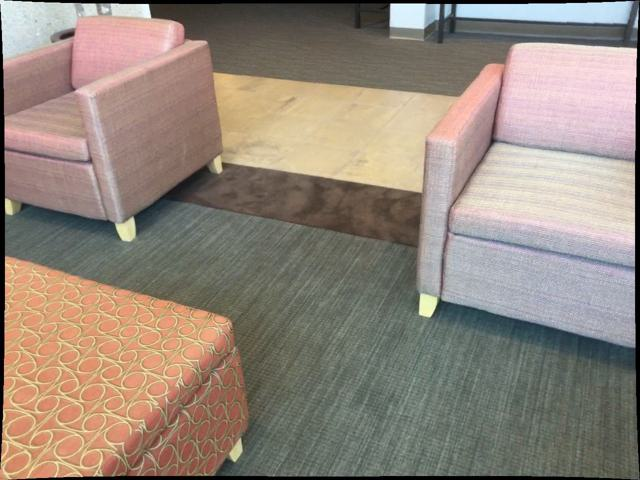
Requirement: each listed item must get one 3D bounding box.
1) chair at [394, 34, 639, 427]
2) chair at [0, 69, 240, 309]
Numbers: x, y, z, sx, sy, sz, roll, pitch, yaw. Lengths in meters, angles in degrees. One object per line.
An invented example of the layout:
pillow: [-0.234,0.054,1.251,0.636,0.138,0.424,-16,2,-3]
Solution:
chair: [0.769,-0.110,1.980,0.799,0.961,0.840,10,34,23]
chair: [-0.988,-0.300,2.730,0.819,0.771,0.850,7,33,19]
